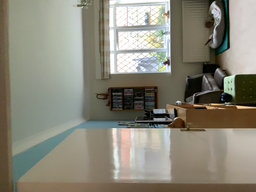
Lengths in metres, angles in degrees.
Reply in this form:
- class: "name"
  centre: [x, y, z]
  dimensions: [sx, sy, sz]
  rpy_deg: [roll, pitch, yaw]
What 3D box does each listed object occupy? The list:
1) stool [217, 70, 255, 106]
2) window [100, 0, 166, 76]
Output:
- class: "stool"
  centre: [1.410, -0.100, 2.730]
  dimensions: [0.400, 0.380, 0.420]
  rpy_deg: [-21, -70, -87]
- class: "window"
  centre: [0.110, -1.340, 4.680]
  dimensions: [0.380, 1.360, 1.750]
  rpy_deg: [-32, -59, -87]
